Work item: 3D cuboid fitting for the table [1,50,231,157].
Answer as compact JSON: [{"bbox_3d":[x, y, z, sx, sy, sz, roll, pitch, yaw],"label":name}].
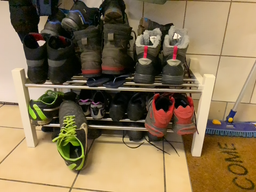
[{"bbox_3d":[-0.050,0.010,1.030,0.870,0.360,0.350,3,24,2],"label":"table"}]
